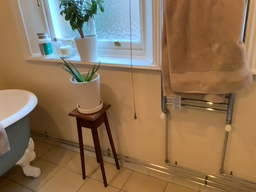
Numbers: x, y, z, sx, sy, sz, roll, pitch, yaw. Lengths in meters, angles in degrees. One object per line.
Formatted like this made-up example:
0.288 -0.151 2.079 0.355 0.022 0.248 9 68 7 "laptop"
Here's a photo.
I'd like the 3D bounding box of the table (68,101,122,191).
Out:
-0.230 0.380 1.620 0.230 0.630 0.230 7 27 24 "table"
